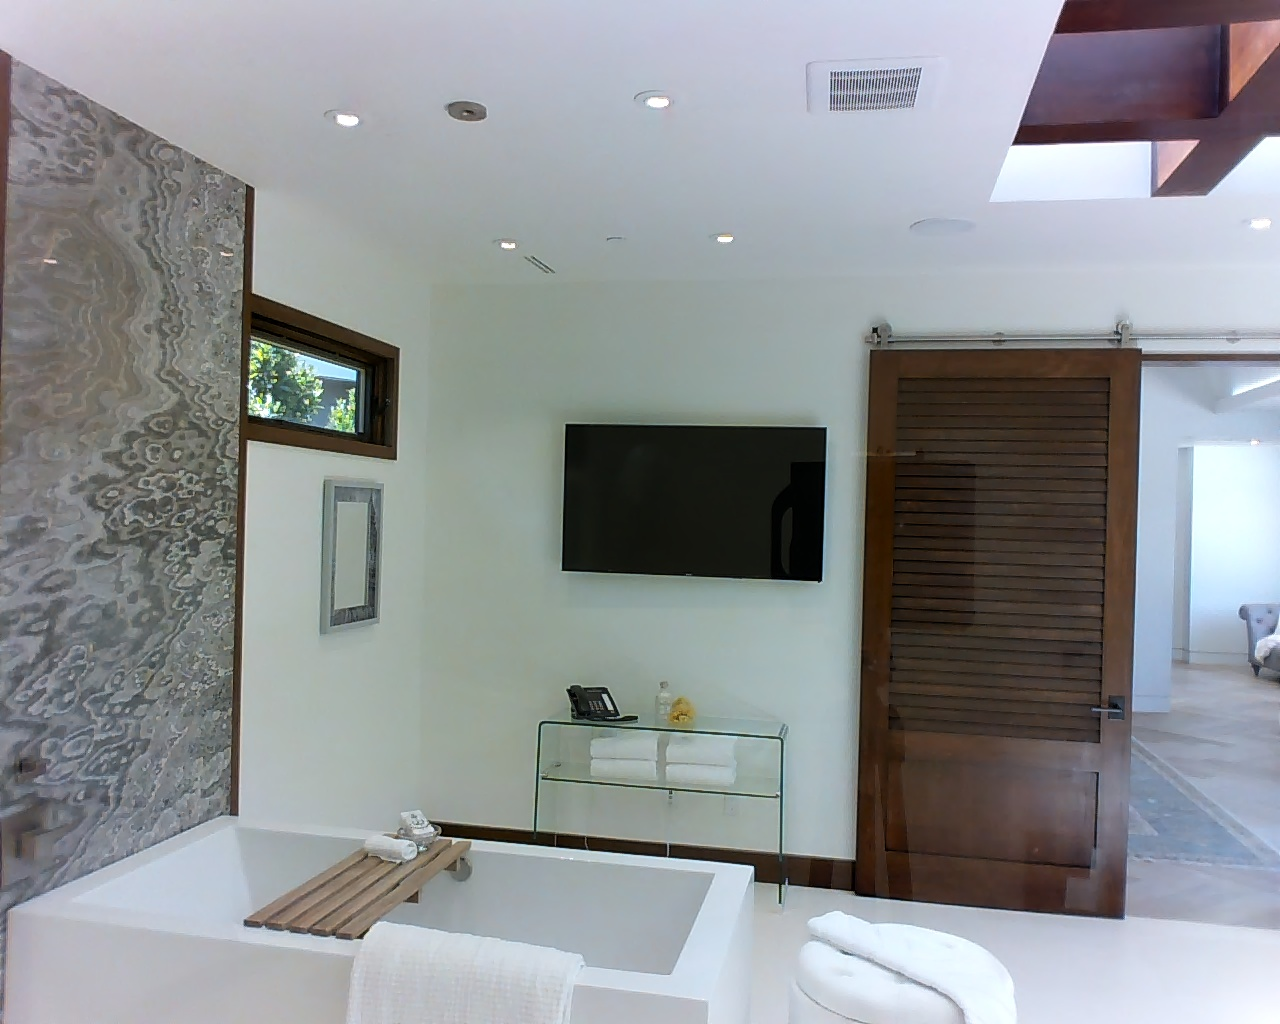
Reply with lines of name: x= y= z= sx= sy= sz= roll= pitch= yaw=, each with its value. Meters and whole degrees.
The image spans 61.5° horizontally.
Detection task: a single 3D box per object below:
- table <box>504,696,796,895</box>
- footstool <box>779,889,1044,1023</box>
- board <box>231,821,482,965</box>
table: x=0.050 y=1.270 z=4.930 sx=1.260 sy=0.690 sz=0.370 roll=2 pitch=0 yaw=14
footstool: x=0.750 y=1.450 z=3.080 sx=0.660 sy=0.470 sz=0.630 roll=1 pitch=0 yaw=11
board: x=-0.760 y=1.050 z=3.050 sx=0.340 sy=0.090 sz=0.850 roll=1 pitch=0 yaw=12
